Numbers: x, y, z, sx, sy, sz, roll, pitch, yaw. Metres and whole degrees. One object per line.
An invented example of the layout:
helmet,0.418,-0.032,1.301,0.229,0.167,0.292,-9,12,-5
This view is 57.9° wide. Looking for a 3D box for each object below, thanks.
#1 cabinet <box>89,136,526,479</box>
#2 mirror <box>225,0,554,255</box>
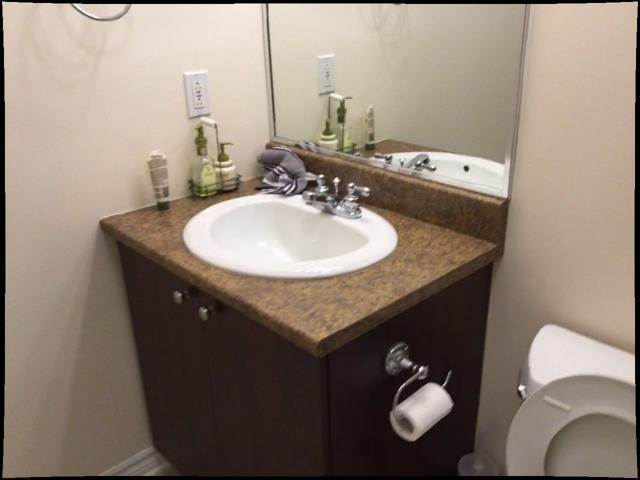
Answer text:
cabinet,-0.050,0.310,1.490,0.570,0.921,0.820,-24,33,-39
mirror,0.100,-0.631,1.290,0.190,1.141,0.810,-24,33,-39
